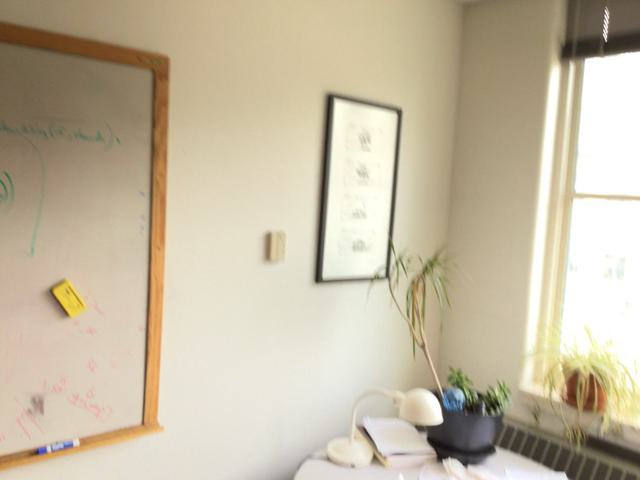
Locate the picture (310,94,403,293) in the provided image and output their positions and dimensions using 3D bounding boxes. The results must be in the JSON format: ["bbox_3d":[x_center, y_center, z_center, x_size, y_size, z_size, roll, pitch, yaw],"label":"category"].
[{"bbox_3d":[0.160,-0.180,2.390,0.460,0.760,0.050,-1,5,-41],"label":"picture"}]
